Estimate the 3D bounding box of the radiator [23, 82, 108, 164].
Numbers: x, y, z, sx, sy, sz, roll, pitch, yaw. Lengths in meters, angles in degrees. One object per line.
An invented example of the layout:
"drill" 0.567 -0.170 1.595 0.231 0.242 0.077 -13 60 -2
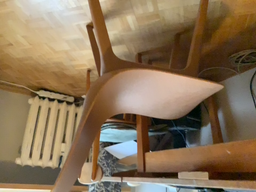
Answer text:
"radiator" -0.550 0.270 1.980 0.650 0.650 0.200 12 158 -24
